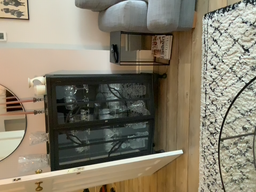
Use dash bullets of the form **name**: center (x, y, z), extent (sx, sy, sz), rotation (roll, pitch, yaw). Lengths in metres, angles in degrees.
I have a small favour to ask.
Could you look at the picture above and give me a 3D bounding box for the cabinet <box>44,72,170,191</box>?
- **cabinet**: center (-0.190, 0.320, 2.150), extent (0.350, 1.170, 1.090), rotation (-159, 68, -65)
